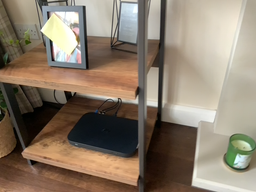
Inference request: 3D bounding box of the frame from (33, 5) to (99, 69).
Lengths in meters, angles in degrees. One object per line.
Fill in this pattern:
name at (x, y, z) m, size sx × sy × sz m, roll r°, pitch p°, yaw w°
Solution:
frame at (-0.210, -0.220, 0.770) m, size 0.130 × 0.170 × 0.160 m, roll 10°, pitch 39°, yaw 19°
